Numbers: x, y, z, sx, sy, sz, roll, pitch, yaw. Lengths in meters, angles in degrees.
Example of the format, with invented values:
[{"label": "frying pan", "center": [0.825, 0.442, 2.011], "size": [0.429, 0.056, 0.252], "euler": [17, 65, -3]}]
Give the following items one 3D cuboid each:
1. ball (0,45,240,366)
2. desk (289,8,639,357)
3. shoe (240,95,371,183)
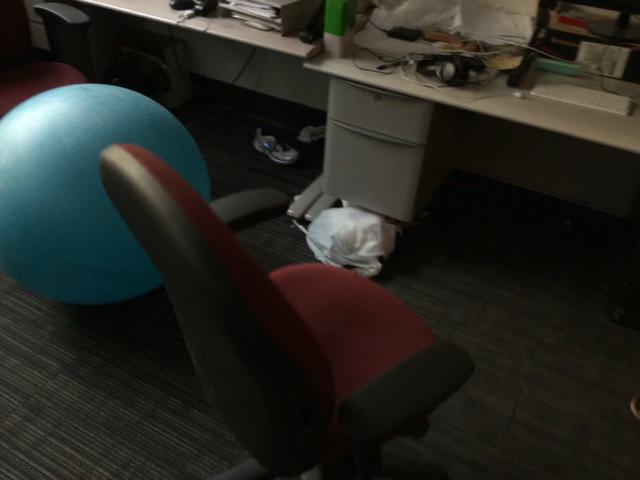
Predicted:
[{"label": "ball", "center": [-0.680, -0.150, 1.740], "size": [0.600, 0.590, 0.640], "euler": [21, 39, 21]}, {"label": "desk", "center": [0.750, -0.260, 2.050], "size": [1.520, 0.660, 0.770], "euler": [21, 39, 21]}, {"label": "shoe", "center": [-0.070, -0.490, 2.730], "size": [0.500, 0.170, 0.350], "euler": [21, 39, 21]}]
